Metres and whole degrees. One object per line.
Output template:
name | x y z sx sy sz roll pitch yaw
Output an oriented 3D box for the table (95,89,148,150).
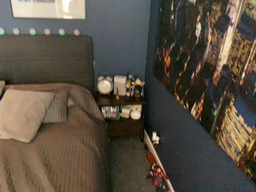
table | -0.100 0.270 2.570 0.560 0.590 0.380 -2 24 -11
